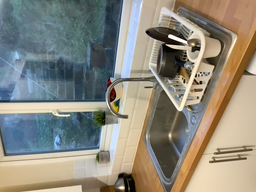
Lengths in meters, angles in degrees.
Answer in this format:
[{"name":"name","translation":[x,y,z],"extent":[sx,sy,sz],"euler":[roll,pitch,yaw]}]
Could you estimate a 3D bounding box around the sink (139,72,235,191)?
[{"name":"sink","translation":[0.300,0.240,1.350],"extent":[0.500,0.220,0.610],"euler":[-114,29,-52]}]
